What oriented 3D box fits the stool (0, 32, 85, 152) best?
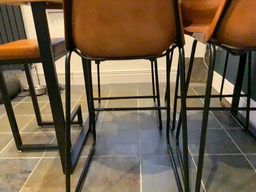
[{"bbox_3d":[-0.570,-0.040,1.410,0.400,0.690,0.400,-1,22,3],"label":"stool"}]
